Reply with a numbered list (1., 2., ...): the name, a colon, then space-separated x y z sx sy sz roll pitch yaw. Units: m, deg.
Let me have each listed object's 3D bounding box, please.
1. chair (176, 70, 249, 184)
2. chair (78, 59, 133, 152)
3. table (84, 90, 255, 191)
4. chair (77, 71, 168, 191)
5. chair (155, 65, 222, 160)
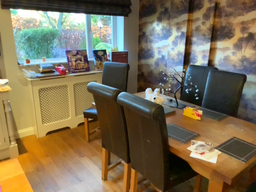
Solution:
1. chair: 0.950 0.310 2.440 0.560 1.110 0.430 -13 22 -38
2. chair: -0.290 0.090 3.010 0.480 1.130 0.630 9 19 23
3. table: 0.380 0.570 2.100 0.960 0.800 1.590 -12 21 -36
4. chair: -0.050 0.380 2.100 0.690 1.130 0.470 -14 23 -40
5. chair: 0.810 0.180 2.900 0.660 1.080 0.480 -13 22 -38
